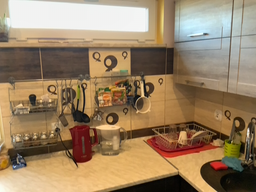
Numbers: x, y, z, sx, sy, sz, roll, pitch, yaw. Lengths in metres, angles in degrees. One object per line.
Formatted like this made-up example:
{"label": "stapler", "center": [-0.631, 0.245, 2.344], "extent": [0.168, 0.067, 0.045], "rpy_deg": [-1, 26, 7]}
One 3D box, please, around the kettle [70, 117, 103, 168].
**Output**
{"label": "kettle", "center": [-0.330, 0.360, 1.680], "extent": [0.220, 0.320, 0.190], "rpy_deg": [-4, 12, -19]}
